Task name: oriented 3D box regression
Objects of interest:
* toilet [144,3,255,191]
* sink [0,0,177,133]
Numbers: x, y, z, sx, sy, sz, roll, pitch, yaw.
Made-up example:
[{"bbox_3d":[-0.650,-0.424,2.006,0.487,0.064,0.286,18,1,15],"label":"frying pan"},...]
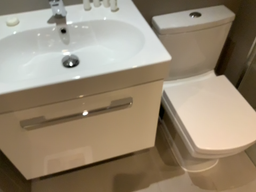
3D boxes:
[{"bbox_3d":[0.400,0.030,1.150,0.420,0.760,0.600,-12,49,-11],"label":"toilet"},{"bbox_3d":[-0.220,-0.150,0.810,0.650,0.180,0.440,-12,49,-11],"label":"sink"}]
